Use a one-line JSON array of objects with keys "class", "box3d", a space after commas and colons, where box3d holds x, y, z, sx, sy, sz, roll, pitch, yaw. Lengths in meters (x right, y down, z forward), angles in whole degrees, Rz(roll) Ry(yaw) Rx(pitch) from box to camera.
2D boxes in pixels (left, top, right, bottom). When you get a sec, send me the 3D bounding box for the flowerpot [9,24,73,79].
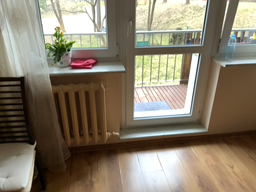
[{"class": "flowerpot", "box3d": [-0.670, -0.370, 1.710, 0.400, 0.360, 0.260, -6, 27, -13]}]
